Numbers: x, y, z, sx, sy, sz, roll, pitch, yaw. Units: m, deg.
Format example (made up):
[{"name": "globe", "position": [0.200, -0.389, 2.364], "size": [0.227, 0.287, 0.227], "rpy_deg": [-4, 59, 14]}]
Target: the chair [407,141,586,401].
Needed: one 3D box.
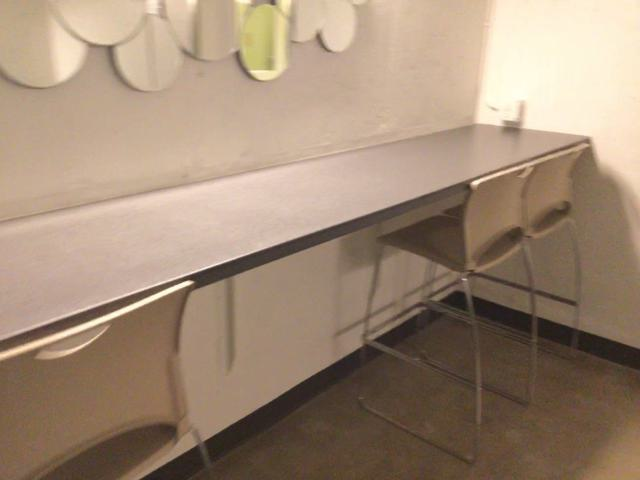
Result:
[{"name": "chair", "position": [0.760, 0.080, 2.530], "size": [0.520, 0.960, 0.540], "rpy_deg": [11, 19, 39]}]

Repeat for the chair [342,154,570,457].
[{"name": "chair", "position": [0.490, 0.180, 2.140], "size": [0.530, 0.920, 0.500], "rpy_deg": [15, 15, 39]}]
